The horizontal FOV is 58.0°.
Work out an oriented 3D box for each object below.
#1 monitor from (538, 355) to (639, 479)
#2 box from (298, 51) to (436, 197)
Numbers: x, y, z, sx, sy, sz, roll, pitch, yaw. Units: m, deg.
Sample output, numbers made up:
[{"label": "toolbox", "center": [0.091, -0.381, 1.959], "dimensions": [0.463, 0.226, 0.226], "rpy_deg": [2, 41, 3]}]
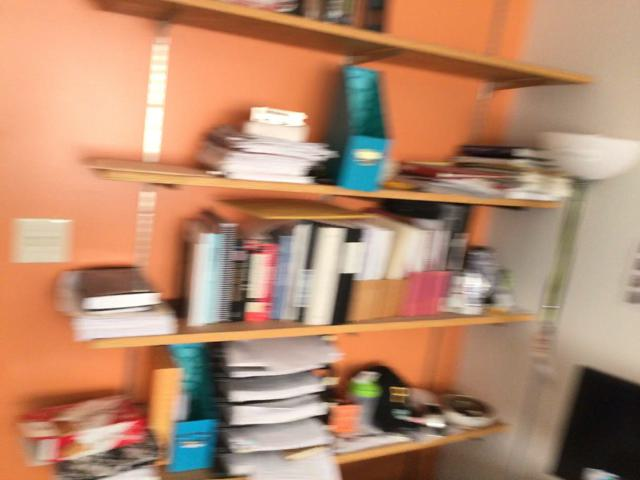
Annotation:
[{"label": "monitor", "center": [0.870, 0.600, 1.470], "dimensions": [0.280, 0.440, 0.500], "rpy_deg": [1, 10, -27]}, {"label": "box", "center": [0.120, -0.320, 1.640], "dimensions": [0.230, 0.350, 0.310], "rpy_deg": [1, 10, -26]}]
